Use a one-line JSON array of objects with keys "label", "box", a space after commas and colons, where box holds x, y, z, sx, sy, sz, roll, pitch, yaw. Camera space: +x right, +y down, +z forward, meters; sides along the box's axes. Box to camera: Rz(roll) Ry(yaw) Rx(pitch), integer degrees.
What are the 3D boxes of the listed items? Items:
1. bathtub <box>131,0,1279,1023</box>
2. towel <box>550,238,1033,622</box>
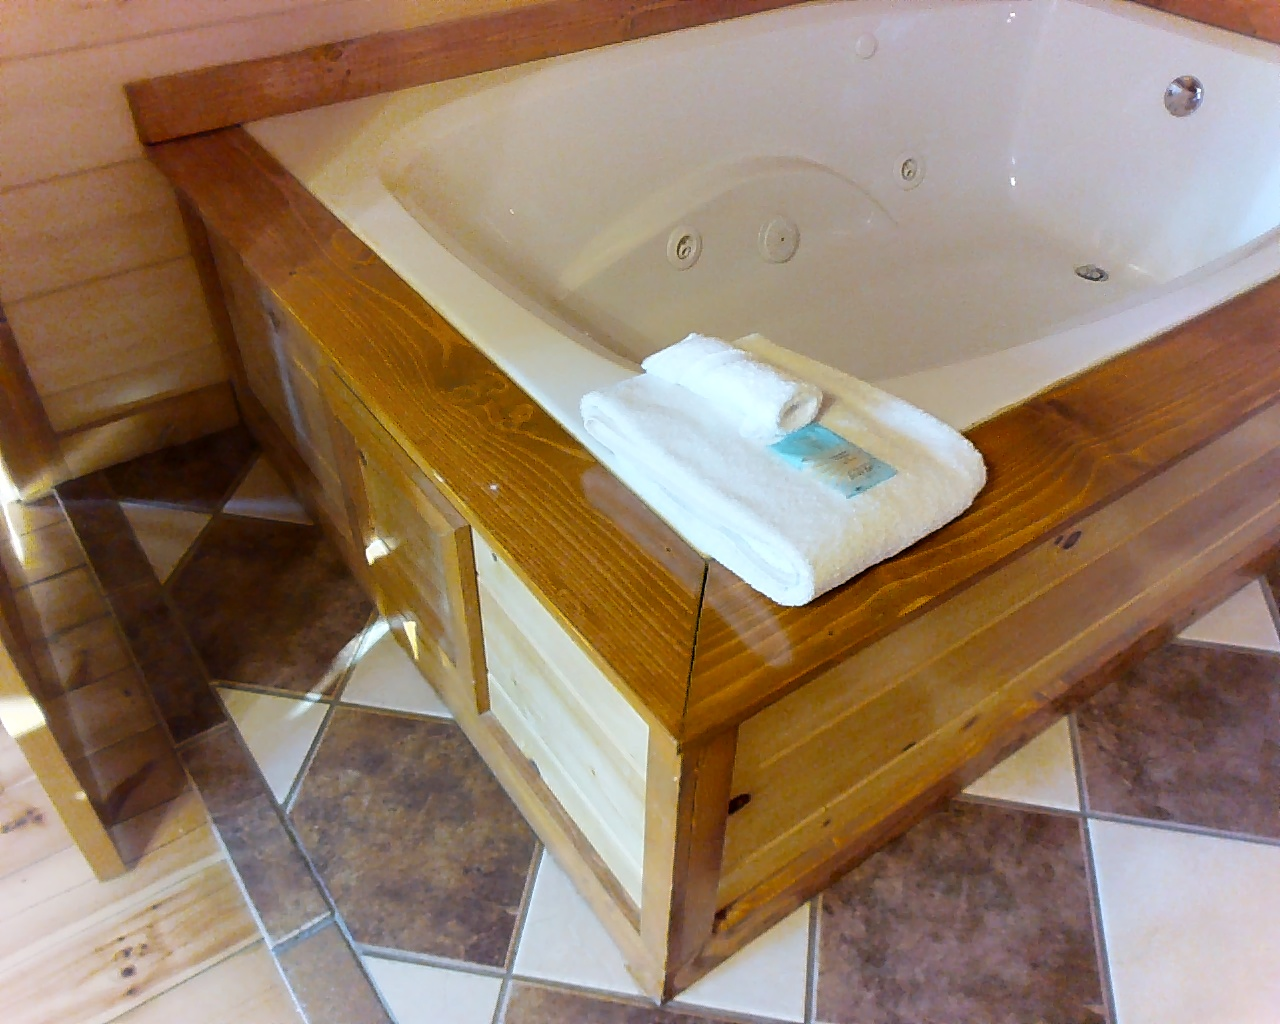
[{"label": "bathtub", "box": [0.420, -0.350, 1.850, 1.960, 0.650, 1.350, -25, 48, -26]}, {"label": "towel", "box": [0.130, -0.100, 1.020, 0.270, 0.120, 0.350, -29, 50, -29]}]
